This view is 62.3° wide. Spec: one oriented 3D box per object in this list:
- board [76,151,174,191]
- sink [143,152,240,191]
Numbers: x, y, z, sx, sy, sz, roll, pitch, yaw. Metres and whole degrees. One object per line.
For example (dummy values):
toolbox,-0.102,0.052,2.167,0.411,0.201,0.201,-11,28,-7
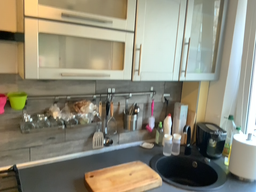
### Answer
board,-0.020,0.470,1.280,0.480,0.050,0.340,-3,13,-35
sink,0.380,0.600,1.450,0.510,0.220,0.440,4,11,0
